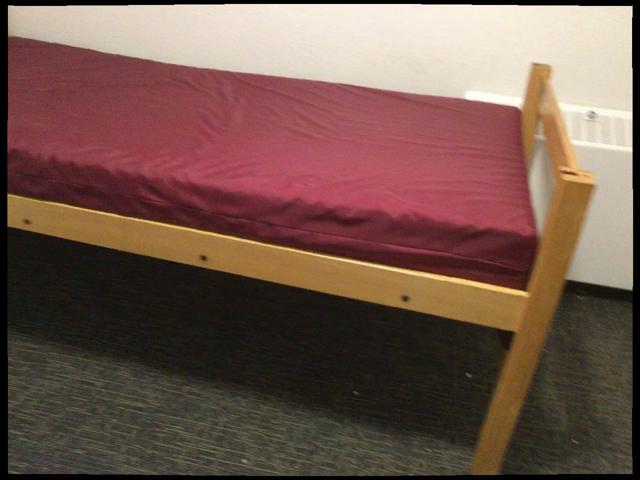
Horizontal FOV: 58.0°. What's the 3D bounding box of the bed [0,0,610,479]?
[{"bbox_3d":[-0.459,-0.160,2.000,2.276,0.941,1.120,10,33,9],"label":"bed"}]
